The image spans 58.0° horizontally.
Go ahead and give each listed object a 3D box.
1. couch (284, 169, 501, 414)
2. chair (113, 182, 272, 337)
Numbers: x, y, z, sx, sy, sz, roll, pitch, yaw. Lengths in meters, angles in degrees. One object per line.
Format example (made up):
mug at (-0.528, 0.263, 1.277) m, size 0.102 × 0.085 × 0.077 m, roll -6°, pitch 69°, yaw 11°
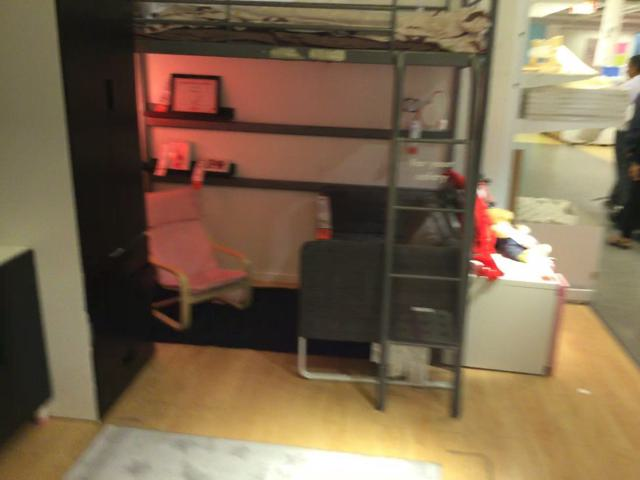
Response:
couch at (0.350, 0.160, 3.080) m, size 0.850 × 0.790 × 1.310 m, roll 5°, pitch 18°, yaw 5°
chair at (-0.680, 0.080, 3.290) m, size 0.690 × 0.650 × 0.650 m, roll 5°, pitch 18°, yaw 5°
